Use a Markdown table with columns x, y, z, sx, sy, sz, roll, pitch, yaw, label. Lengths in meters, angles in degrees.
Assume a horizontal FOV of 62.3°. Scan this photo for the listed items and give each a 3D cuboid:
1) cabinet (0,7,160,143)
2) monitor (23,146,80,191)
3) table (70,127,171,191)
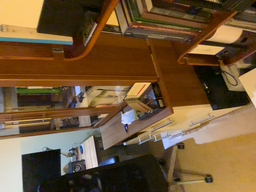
| x | y | z | sx | sy | sz | roll | pitch | yaw | label |
| --- | --- | --- | --- | --- | --- | --- | --- | --- | --- |
| -0.600 | -0.010 | 1.210 | 0.990 | 1.160 | 0.310 | -40 | 58 | 53 | cabinet |
| -0.760 | 0.880 | 2.160 | 0.050 | 0.530 | 0.640 | -10 | 83 | 59 | monitor |
| -0.070 | 1.100 | 2.250 | 0.790 | 0.730 | 1.290 | -42 | 57 | 52 | table |
